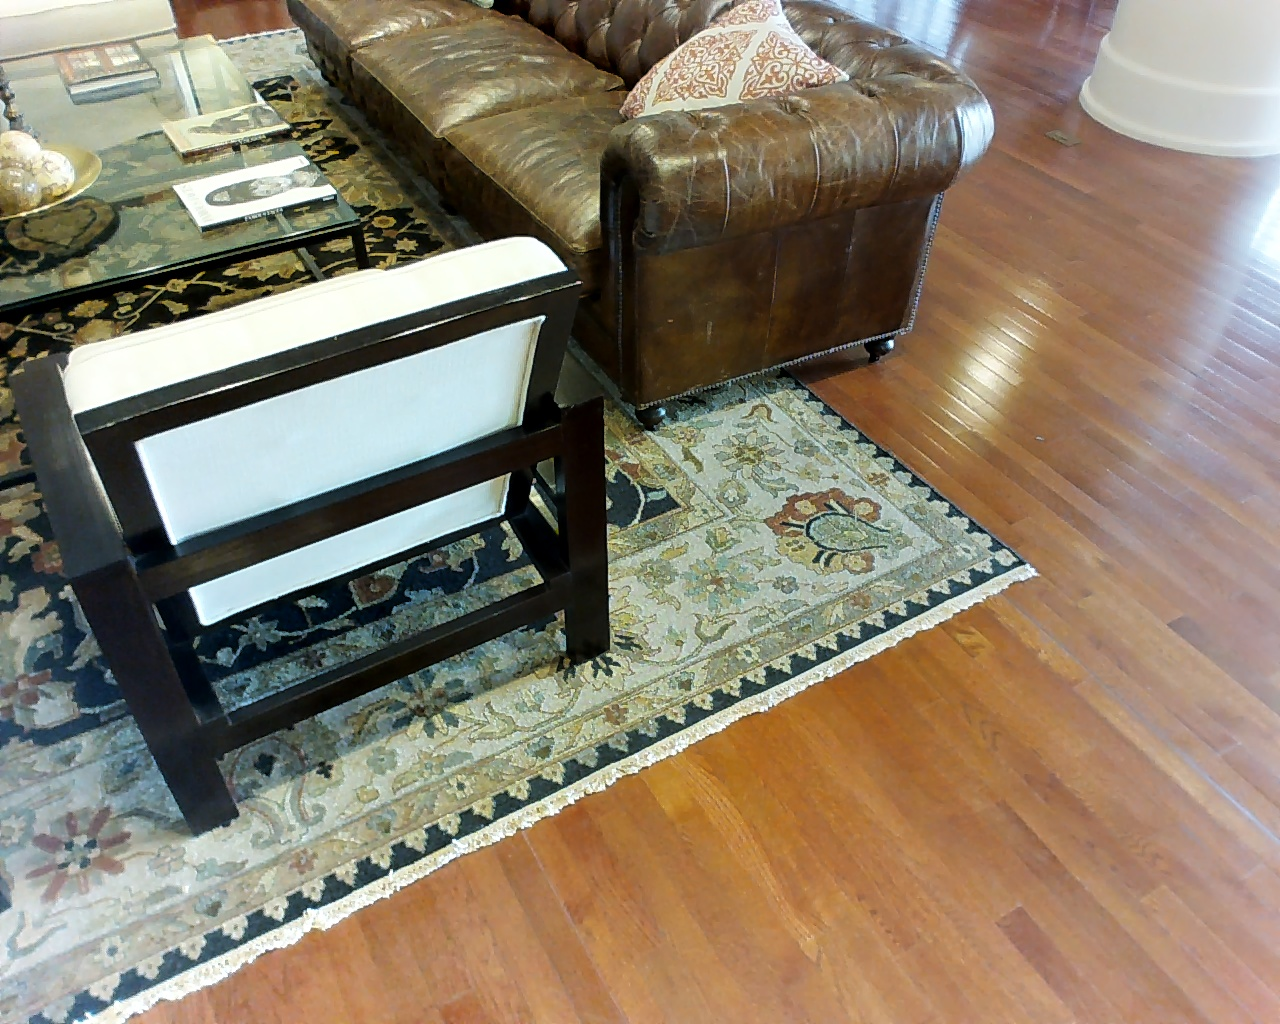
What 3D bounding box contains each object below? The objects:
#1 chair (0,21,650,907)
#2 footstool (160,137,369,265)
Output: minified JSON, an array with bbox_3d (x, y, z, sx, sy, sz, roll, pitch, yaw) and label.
[{"bbox_3d":[-0.630,-0.160,1.880,0.890,0.920,1.010,-21,46,-22],"label":"chair"},{"bbox_3d":[-0.920,-0.770,2.630,0.400,0.100,0.340,-20,46,-22],"label":"footstool"}]
